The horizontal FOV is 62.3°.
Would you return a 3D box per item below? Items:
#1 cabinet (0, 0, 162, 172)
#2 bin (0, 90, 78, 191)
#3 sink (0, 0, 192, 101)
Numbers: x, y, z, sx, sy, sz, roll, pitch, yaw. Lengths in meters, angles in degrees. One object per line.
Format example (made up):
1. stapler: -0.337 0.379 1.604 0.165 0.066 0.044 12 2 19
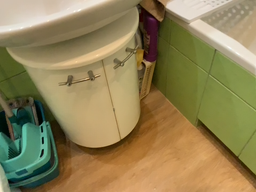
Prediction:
1. cabinet: -0.170 -0.070 0.920 0.440 0.560 0.420 -29 53 -18
2. bin: -0.430 0.210 1.020 0.180 0.240 0.390 -28 53 -17
3. sink: -0.180 -0.310 0.640 0.590 0.170 0.440 -29 53 -18
